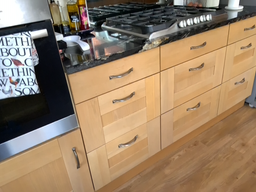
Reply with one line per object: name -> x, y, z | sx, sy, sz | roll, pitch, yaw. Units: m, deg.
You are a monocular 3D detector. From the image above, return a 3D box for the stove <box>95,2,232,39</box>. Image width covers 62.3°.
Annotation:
stove -> 0.220, -0.530, 1.410 | 0.670, 0.060, 0.580 | -22, 35, -28
